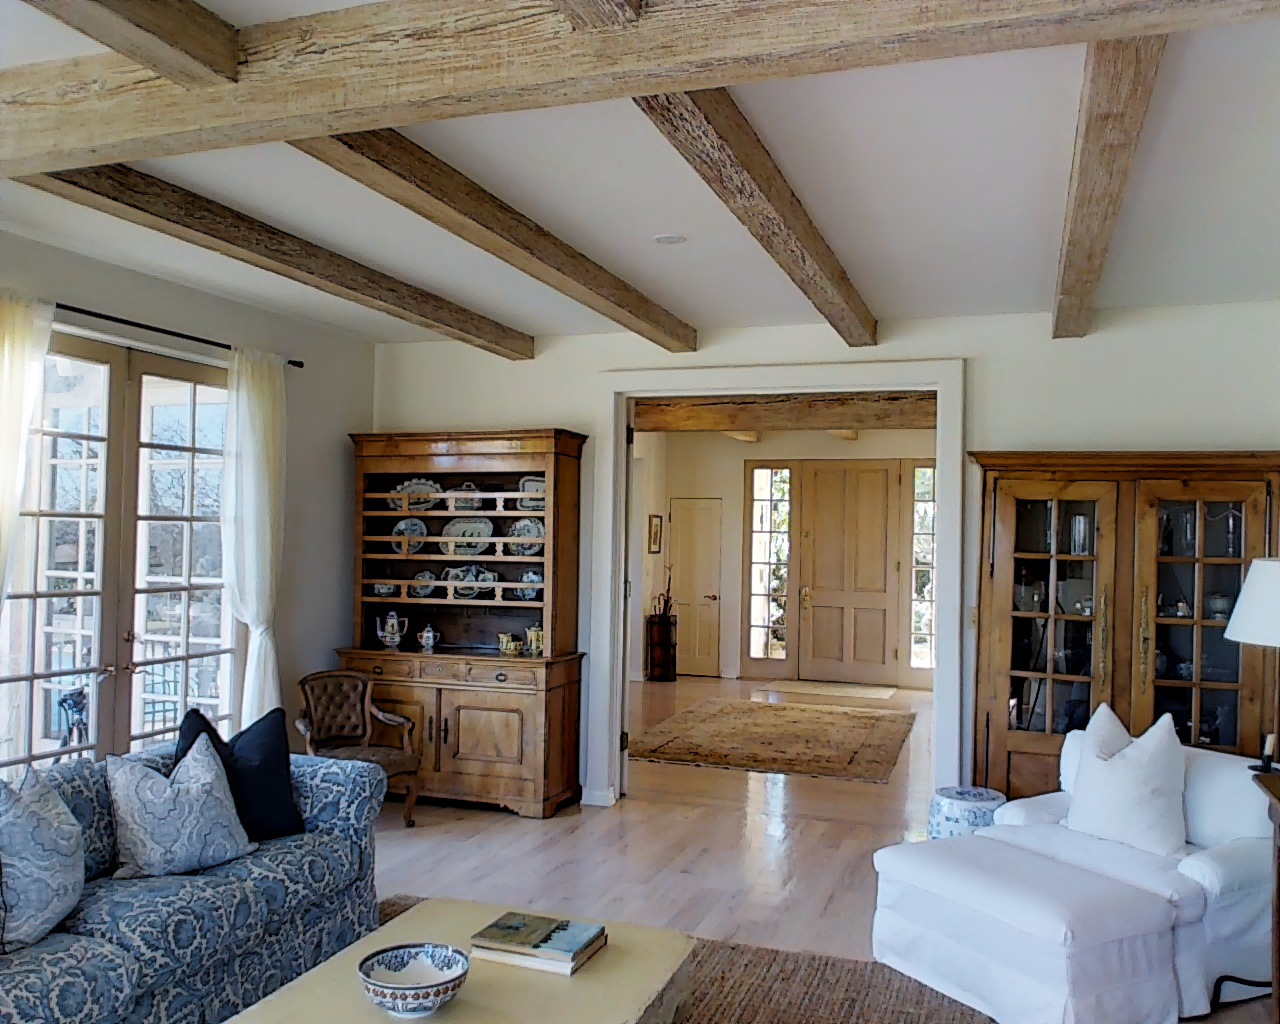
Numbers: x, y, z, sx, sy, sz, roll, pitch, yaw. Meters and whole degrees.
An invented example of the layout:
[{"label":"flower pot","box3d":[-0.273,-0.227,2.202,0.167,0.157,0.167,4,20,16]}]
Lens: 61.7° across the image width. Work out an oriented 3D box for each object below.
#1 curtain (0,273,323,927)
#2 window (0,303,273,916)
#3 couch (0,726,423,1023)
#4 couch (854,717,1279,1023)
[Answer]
[{"label":"curtain","box3d":[-2.309,0.360,5.060,0.290,2.541,2.160,1,-1,20]},{"label":"window","box3d":[-2.399,0.410,5.050,0.160,2.471,1.750,1,-1,20]},{"label":"couch","box3d":[-1.710,1.250,3.310,1.070,0.740,2.130,1,-1,20]},{"label":"couch","box3d":[1.800,1.320,4.080,1.680,0.790,1.010,1,-1,-31]}]
